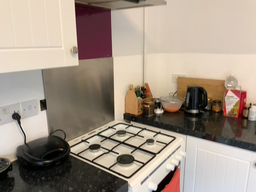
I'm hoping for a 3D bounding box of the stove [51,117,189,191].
[{"bbox_3d":[-0.030,0.340,1.390,0.630,0.120,0.640,9,17,35],"label":"stove"}]
